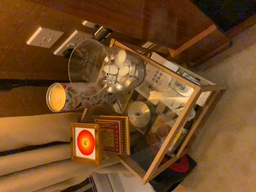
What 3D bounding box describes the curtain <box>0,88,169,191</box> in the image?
[{"bbox_3d":[-0.580,0.200,0.290,0.310,2.210,0.260,-33,75,31],"label":"curtain"}]
